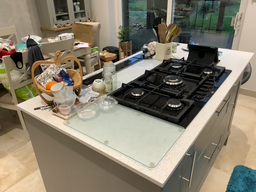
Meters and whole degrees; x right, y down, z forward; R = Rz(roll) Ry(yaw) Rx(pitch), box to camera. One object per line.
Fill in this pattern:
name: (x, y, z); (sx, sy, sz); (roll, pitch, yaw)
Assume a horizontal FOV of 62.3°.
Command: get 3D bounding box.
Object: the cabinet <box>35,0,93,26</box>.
cabinet: (-1.120, -1.840, 3.720); (0.350, 1.010, 0.960); (18, 34, 32)
